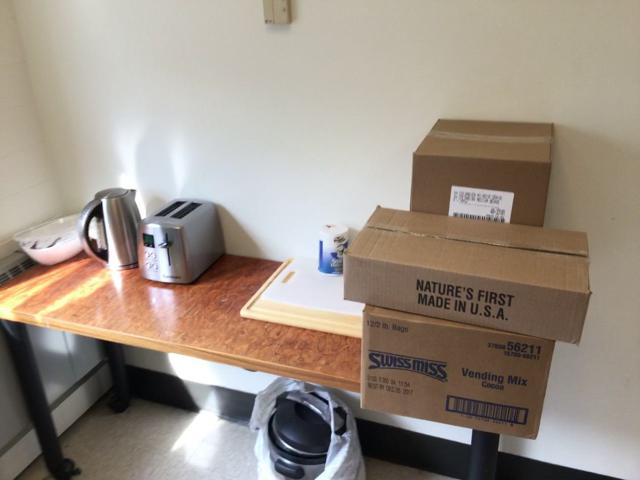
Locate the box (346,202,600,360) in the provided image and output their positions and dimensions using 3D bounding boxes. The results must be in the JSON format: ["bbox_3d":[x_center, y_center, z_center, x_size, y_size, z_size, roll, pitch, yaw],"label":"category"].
[{"bbox_3d":[0.300,0.060,1.150,0.430,0.170,0.270,5,23,20],"label":"box"}]

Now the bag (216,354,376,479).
[{"bbox_3d":[-0.050,0.650,1.820,0.360,0.370,0.390,5,23,20],"label":"bag"}]

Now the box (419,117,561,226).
[{"bbox_3d":[0.390,-0.170,1.310,0.270,0.160,0.310,5,23,20],"label":"box"}]

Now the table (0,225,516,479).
[{"bbox_3d":[-0.230,0.460,1.730,1.470,0.770,0.520,5,23,20],"label":"table"}]
